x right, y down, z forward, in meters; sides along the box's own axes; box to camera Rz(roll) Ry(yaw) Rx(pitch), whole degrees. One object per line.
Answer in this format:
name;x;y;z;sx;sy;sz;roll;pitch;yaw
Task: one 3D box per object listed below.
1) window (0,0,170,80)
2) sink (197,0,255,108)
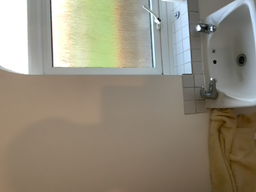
window;-0.270;-0.390;1.130;0.070;1.020;0.600;160;107;-71
sink;0.520;-0.180;0.980;0.300;0.210;0.450;164;104;-71
